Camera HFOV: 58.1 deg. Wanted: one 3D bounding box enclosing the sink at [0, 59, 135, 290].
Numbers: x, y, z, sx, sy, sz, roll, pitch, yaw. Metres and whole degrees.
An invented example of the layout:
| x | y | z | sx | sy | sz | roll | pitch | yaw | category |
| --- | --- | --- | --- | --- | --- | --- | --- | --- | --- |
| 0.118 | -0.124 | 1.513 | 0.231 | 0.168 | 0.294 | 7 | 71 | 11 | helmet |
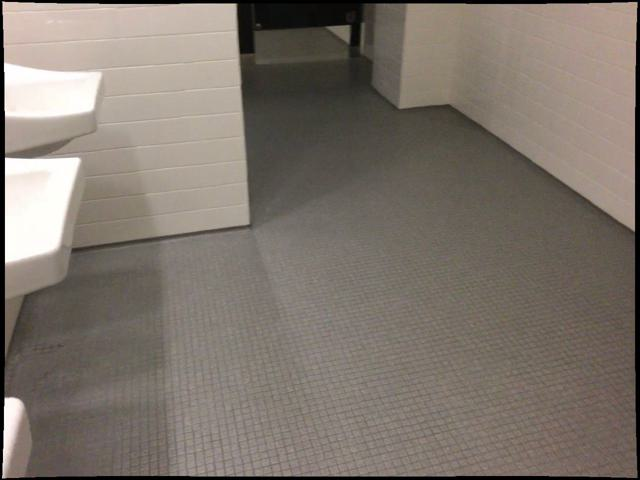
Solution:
| x | y | z | sx | sy | sz | roll | pitch | yaw | category |
| --- | --- | --- | --- | --- | --- | --- | --- | --- | --- |
| -0.908 | -0.241 | 1.890 | 0.449 | 0.551 | 0.570 | -8 | 28 | -10 | sink |
